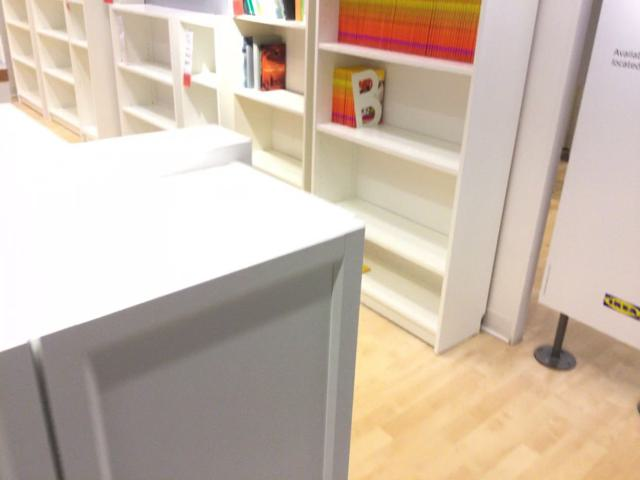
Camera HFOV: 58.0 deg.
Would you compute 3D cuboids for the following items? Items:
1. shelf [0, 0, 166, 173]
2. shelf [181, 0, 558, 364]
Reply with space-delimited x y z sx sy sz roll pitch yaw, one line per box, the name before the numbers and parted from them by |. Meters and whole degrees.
shelf | -2.120 -2.040 4.600 0.420 2.290 2.780 -17 32 -36
shelf | 0.000 -0.720 2.510 0.330 1.770 1.900 -17 32 -36
